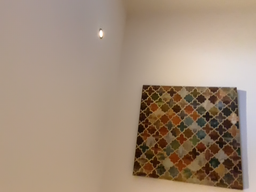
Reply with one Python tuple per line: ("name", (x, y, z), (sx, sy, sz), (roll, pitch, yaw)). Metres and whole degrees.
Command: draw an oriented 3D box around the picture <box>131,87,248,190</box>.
("picture", (0.540, 0.330, 1.940), (0.050, 0.940, 0.850), (63, -148, -64))
